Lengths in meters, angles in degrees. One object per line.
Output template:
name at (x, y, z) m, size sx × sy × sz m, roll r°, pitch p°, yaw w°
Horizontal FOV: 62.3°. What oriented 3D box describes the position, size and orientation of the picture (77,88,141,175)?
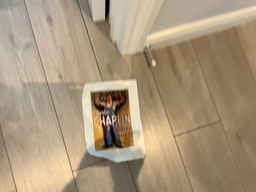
picture at (-0.070, 0.120, 0.760) m, size 0.210 × 0.040 × 0.290 m, roll -2°, pitch 82°, yaw -7°
